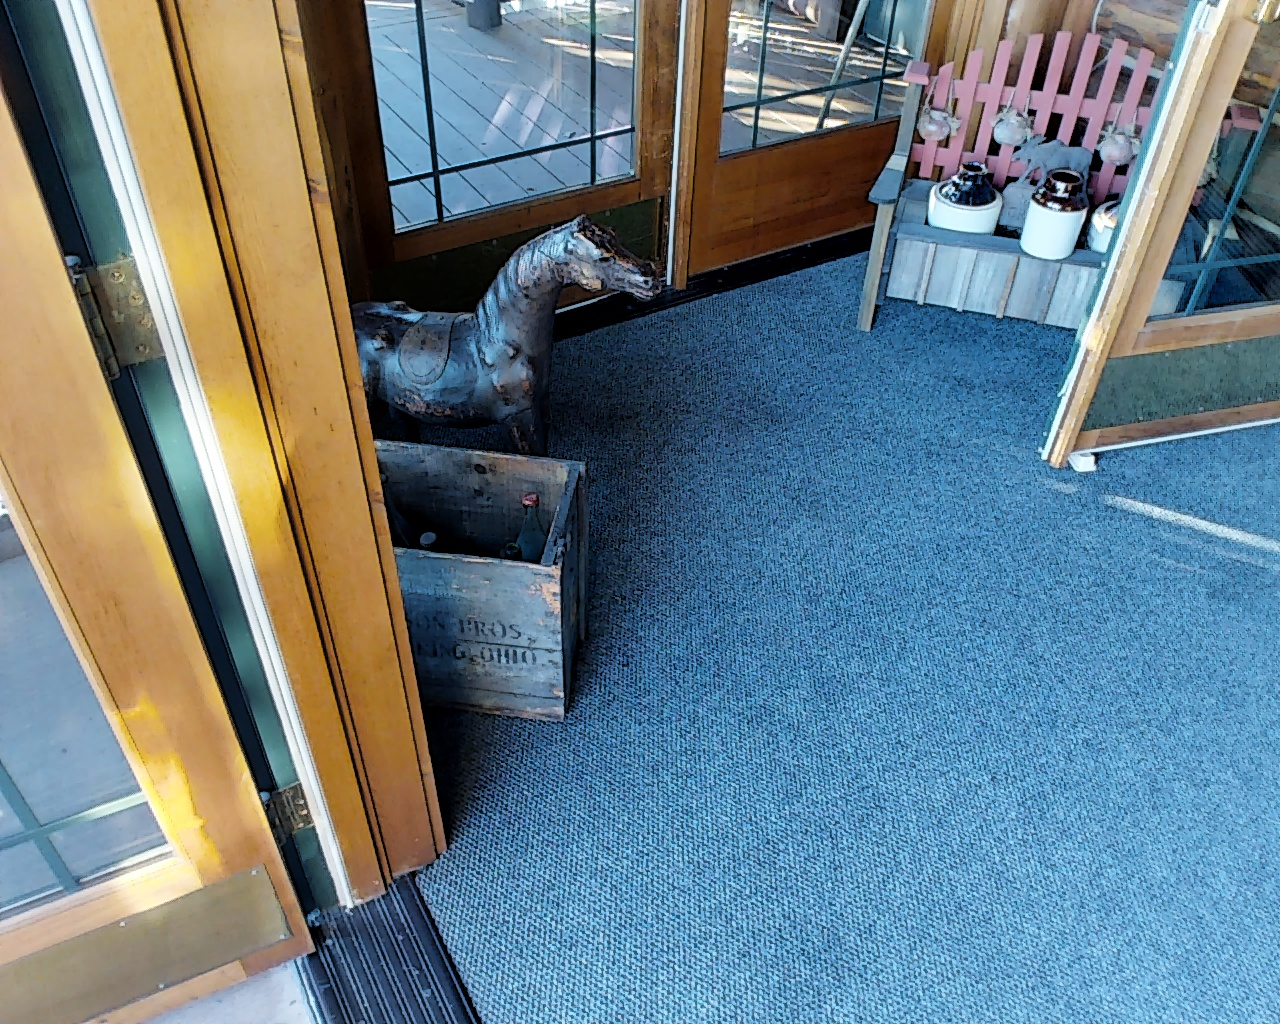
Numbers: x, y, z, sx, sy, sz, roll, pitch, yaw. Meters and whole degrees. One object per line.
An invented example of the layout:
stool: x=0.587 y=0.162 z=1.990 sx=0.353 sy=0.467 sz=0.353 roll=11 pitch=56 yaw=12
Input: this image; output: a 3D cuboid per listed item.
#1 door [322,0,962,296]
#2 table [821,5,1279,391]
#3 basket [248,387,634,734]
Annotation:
door: x=0.130 y=-1.550 z=2.400 sx=1.790 sy=1.900 sz=0.070 roll=-20 pitch=46 yaw=-23
table: x=1.050 y=-0.820 z=2.750 sx=0.990 sy=0.630 sz=0.550 roll=14 pitch=43 yaw=13
basket: x=-0.320 y=0.080 z=1.950 sx=0.550 sy=0.390 sz=0.400 roll=8 pitch=42 yaw=7
